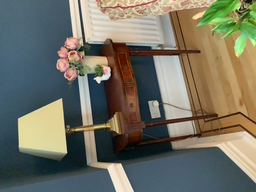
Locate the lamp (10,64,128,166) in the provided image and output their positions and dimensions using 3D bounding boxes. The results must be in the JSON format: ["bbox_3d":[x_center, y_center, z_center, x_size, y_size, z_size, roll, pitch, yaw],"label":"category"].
[{"bbox_3d":[-0.390,0.120,1.340,0.420,0.580,0.490,134,128,-59],"label":"lamp"}]

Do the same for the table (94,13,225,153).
[{"bbox_3d":[0.210,-0.110,1.580,0.310,0.720,0.890,143,118,-61],"label":"table"}]

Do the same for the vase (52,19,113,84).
[{"bbox_3d":[-0.320,-0.290,1.450,0.200,0.340,0.360,144,120,-62],"label":"vase"}]
